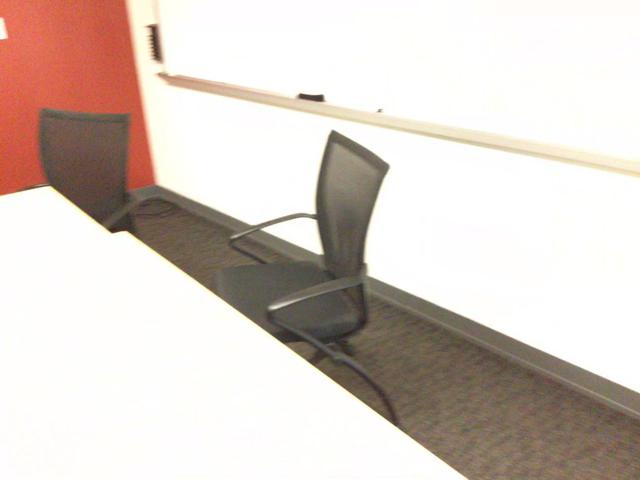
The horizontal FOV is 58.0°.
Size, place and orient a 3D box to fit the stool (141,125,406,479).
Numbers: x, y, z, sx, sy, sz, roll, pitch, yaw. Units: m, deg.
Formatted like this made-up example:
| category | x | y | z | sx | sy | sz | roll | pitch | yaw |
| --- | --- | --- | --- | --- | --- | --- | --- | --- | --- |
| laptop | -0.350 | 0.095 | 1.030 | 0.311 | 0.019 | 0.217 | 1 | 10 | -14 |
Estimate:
| category | x | y | z | sx | sy | sz | roll | pitch | yaw |
| --- | --- | --- | --- | --- | --- | --- | --- | --- | --- |
| stool | -0.160 | 0.190 | 1.850 | 0.610 | 0.940 | 0.670 | -10 | 23 | -17 |

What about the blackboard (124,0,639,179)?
| category | x | y | z | sx | sy | sz | roll | pitch | yaw |
| --- | --- | --- | --- | --- | --- | --- | --- | --- | --- |
| blackboard | -0.050 | -1.030 | 2.440 | 0.110 | 1.050 | 3.290 | -21 | 28 | -38 |

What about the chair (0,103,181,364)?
| category | x | y | z | sx | sy | sz | roll | pitch | yaw |
| --- | --- | --- | --- | --- | --- | --- | --- | --- | --- |
| chair | -1.000 | -0.070 | 2.360 | 0.490 | 0.860 | 0.650 | 3 | 23 | 15 |
